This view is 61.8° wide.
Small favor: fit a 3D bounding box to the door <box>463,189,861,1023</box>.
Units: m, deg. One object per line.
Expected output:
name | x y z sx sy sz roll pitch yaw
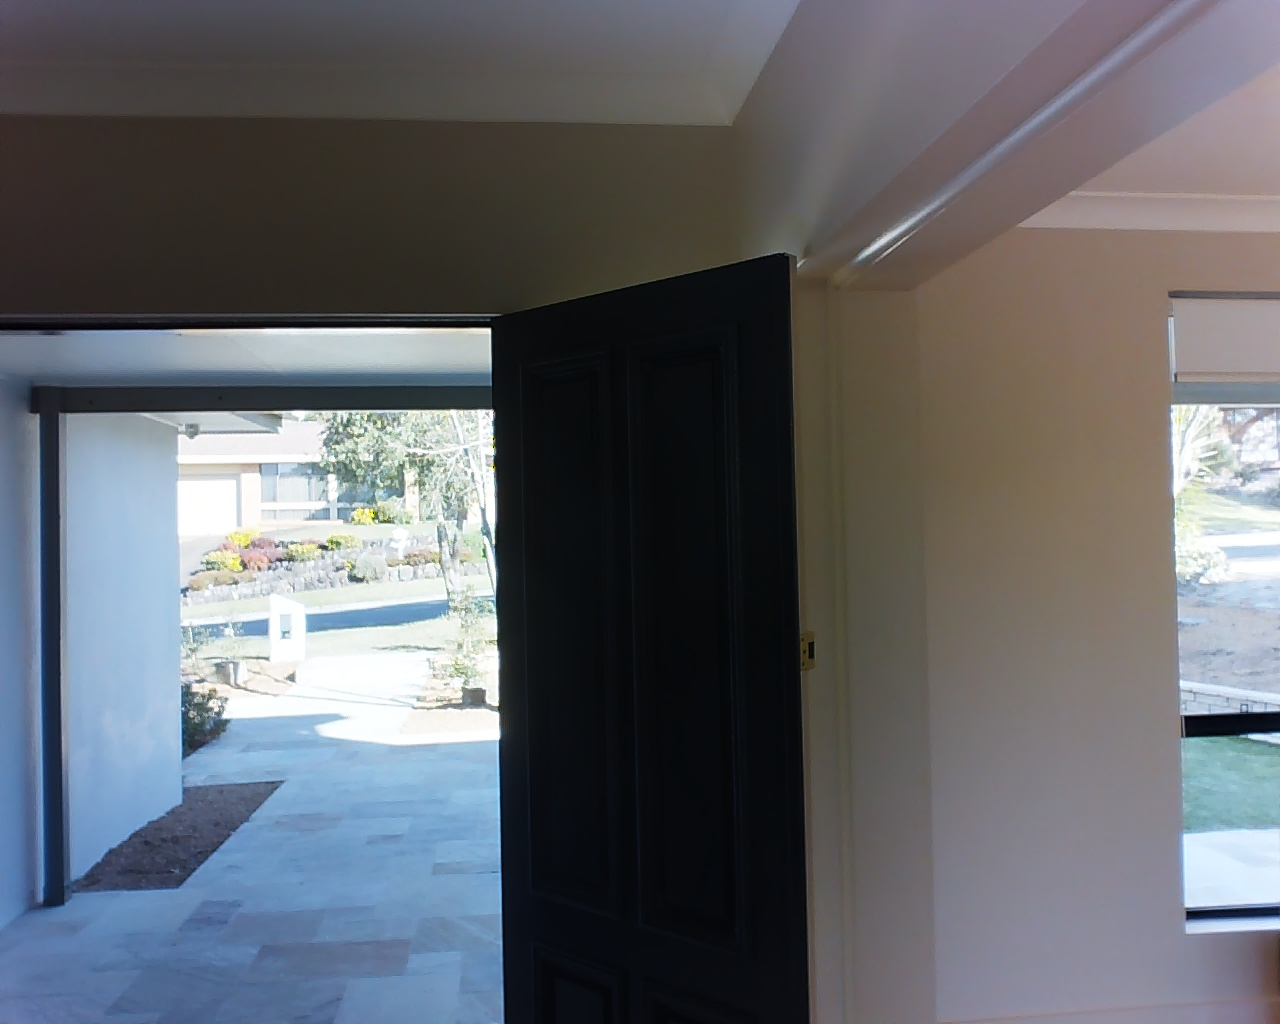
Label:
door | 0.010 0.510 2.240 0.870 2.131 0.240 -2 -2 43
